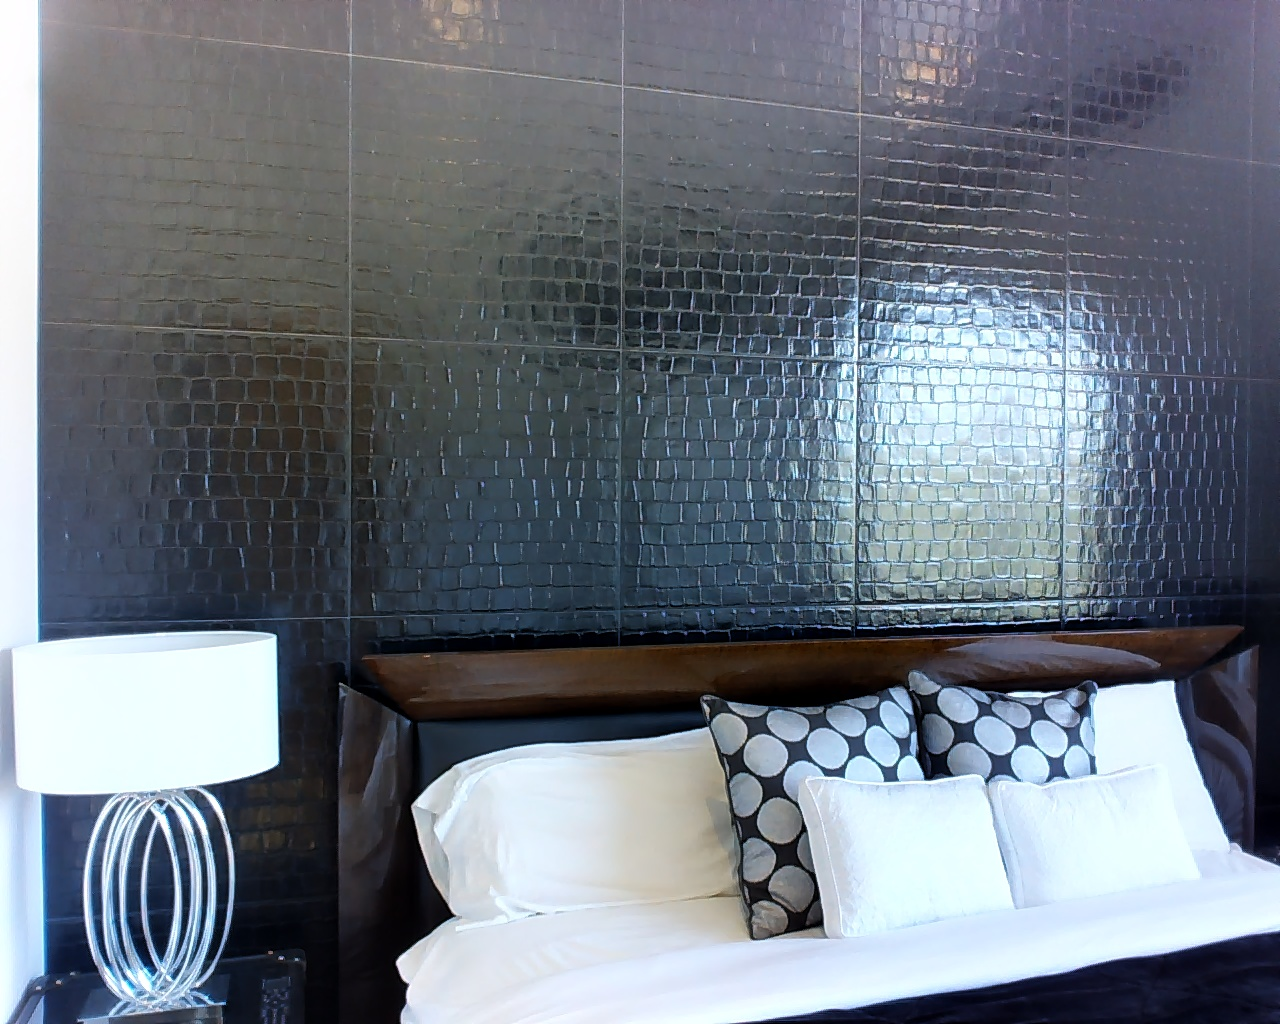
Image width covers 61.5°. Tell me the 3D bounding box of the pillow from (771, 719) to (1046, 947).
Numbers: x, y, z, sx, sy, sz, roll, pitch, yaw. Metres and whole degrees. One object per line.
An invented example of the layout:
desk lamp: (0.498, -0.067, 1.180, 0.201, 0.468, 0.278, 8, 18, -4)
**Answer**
pillow: (0.500, 0.600, 2.030, 0.450, 0.310, 0.140, -9, 34, -21)

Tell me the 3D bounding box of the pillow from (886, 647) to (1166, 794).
pillow: (0.850, 0.460, 2.390, 0.510, 0.280, 0.150, 0, 41, -17)

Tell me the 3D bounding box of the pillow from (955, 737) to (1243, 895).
pillow: (0.920, 0.610, 2.170, 0.490, 0.270, 0.120, 0, 33, -17)

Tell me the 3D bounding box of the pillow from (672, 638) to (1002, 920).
pillow: (0.380, 0.550, 2.230, 0.480, 0.510, 0.280, 0, 38, -17)

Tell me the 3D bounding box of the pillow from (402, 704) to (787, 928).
pillow: (-0.110, 0.640, 2.290, 0.750, 0.420, 0.170, 0, 34, -17)
